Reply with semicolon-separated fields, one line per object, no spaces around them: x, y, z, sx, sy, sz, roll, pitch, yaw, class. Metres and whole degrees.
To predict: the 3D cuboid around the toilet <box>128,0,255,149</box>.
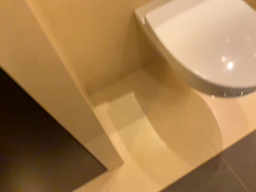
0.320;-0.150;0.950;0.380;0.460;0.540;-29;63;-9;toilet
